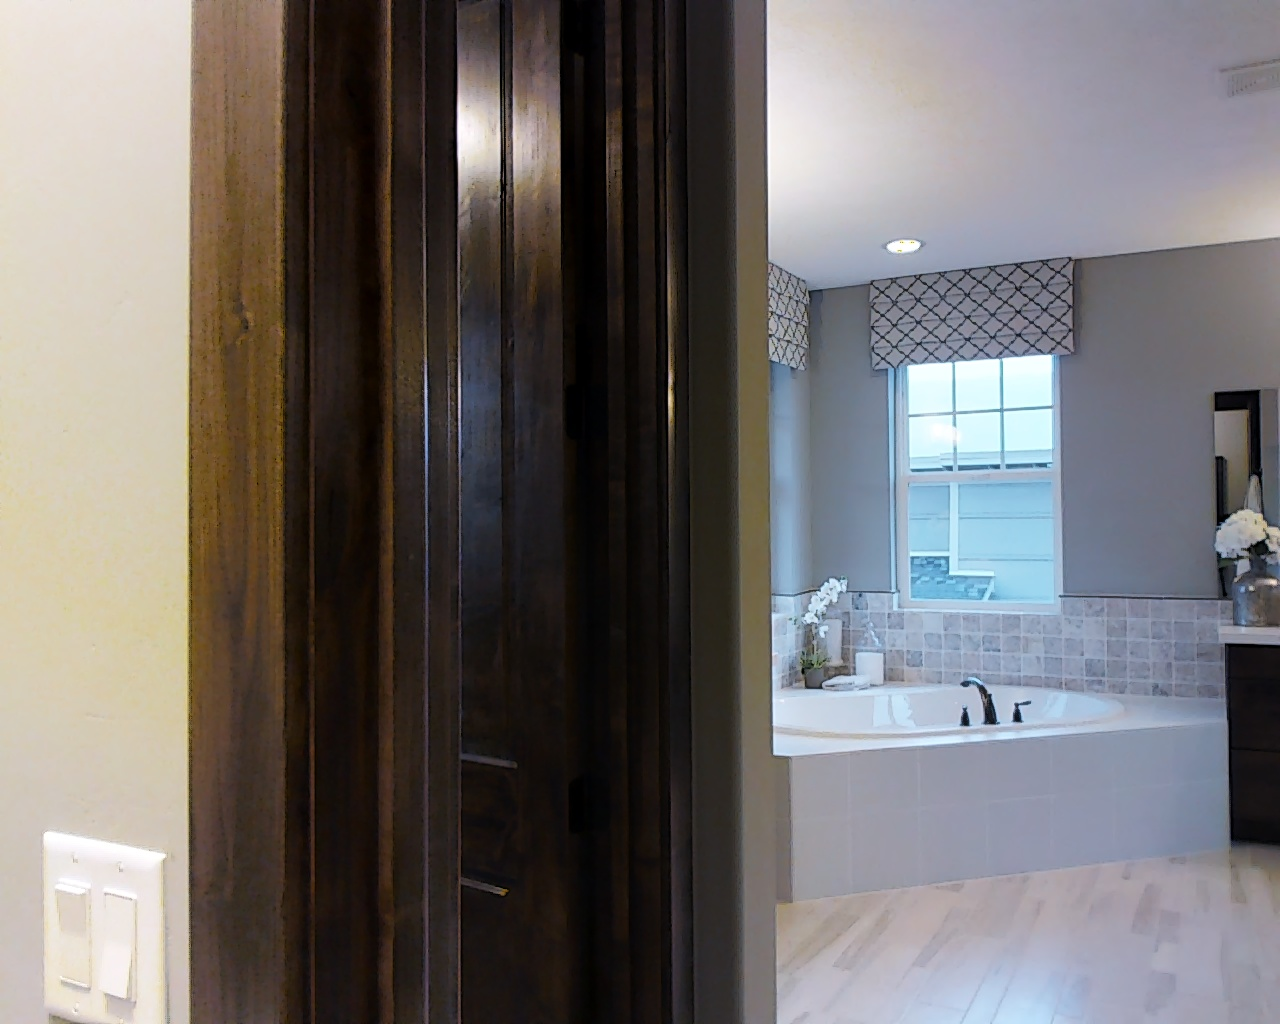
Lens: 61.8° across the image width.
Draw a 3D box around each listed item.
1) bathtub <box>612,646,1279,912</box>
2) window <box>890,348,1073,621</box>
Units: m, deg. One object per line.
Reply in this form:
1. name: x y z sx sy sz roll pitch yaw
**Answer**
1. bathtub: 1.360 1.100 4.960 2.670 0.690 1.520 0 -1 -16
2. window: 1.820 -0.130 5.730 0.870 1.380 0.290 -1 -1 29
